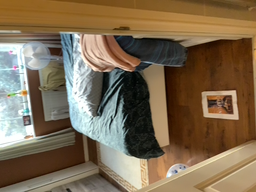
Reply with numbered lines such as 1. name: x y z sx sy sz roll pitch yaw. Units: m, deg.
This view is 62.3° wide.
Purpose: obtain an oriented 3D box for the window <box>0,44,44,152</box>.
1. window: -2.160 0.040 3.380 0.200 1.270 1.700 -10 89 58

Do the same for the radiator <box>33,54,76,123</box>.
1. radiator: -1.280 -0.140 3.700 0.320 0.490 1.110 -4 94 58
